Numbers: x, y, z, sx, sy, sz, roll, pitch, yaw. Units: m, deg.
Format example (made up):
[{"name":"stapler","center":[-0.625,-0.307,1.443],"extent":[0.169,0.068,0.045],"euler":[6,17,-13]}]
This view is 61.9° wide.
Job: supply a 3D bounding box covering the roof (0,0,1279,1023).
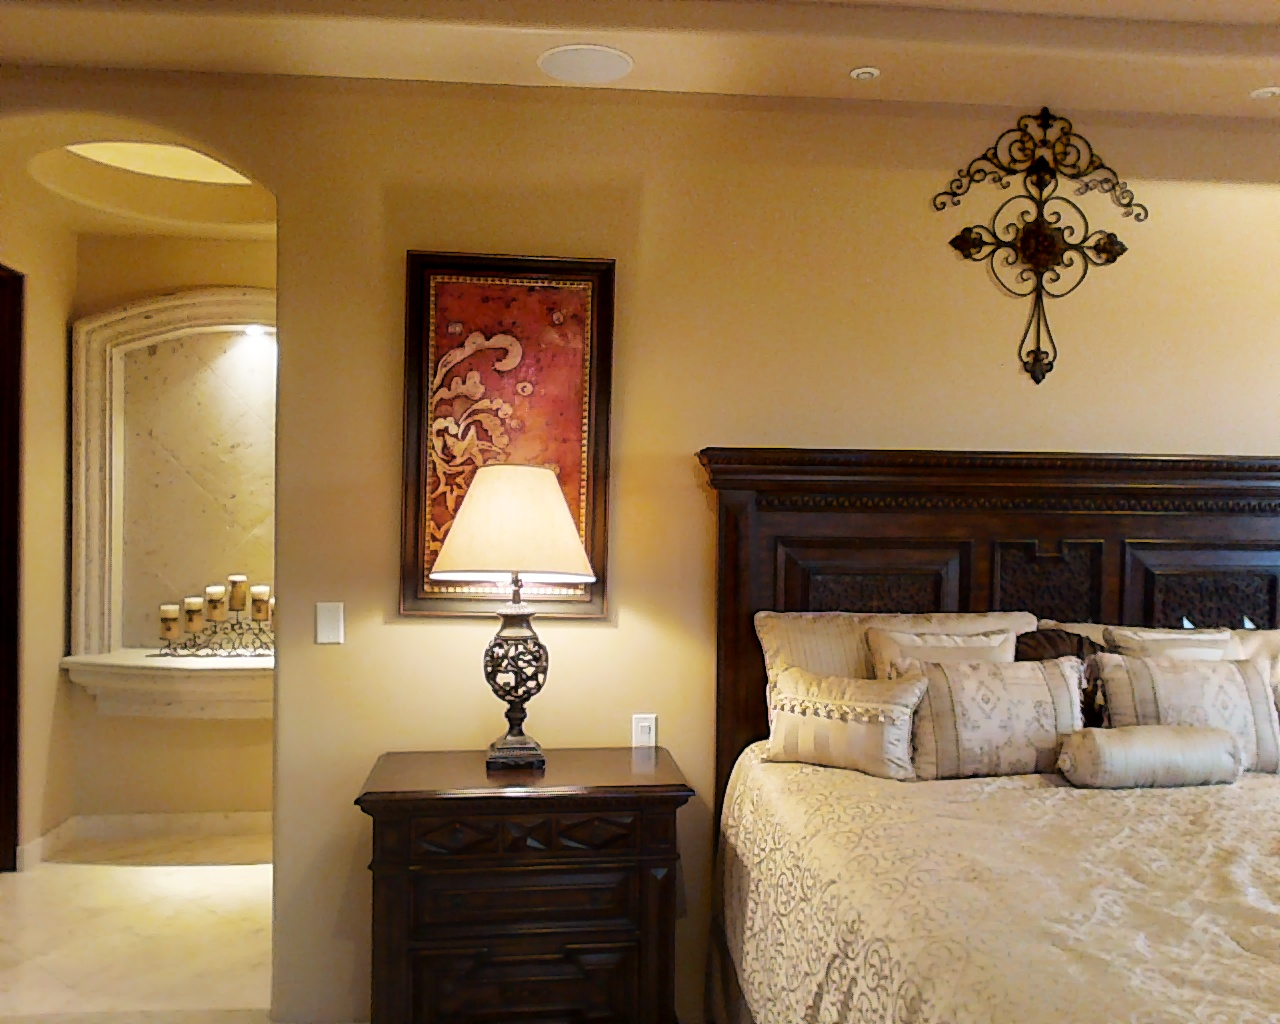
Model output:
[{"name":"roof","center":[0.440,-0.030,0.600],"extent":[1.650,2.880,1.740],"euler":[0,23,-28]}]
